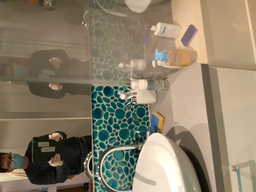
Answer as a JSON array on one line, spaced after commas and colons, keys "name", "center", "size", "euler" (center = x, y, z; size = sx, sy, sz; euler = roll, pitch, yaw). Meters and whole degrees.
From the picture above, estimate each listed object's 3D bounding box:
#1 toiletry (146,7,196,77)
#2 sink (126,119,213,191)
[{"name": "toiletry", "center": [0.220, -0.270, 1.110], "size": [0.150, 0.180, 0.300], "euler": [157, 112, -65]}, {"name": "sink", "center": [0.140, 0.410, 0.810], "size": [0.380, 0.130, 0.610], "euler": [155, 114, -64]}]
